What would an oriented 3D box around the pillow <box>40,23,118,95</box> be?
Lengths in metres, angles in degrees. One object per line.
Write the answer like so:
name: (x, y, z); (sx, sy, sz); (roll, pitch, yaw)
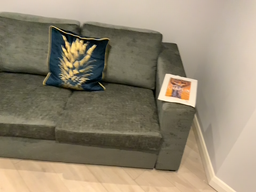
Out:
pillow: (-0.390, -0.250, 1.620); (0.480, 0.420, 0.150); (26, 58, -14)
